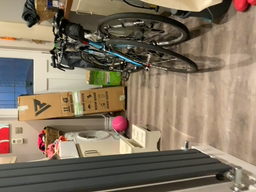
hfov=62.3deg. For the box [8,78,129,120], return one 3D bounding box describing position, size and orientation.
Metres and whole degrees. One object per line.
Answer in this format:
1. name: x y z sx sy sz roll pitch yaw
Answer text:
1. box: -0.760 0.070 2.870 0.530 1.430 0.460 158 112 -68
